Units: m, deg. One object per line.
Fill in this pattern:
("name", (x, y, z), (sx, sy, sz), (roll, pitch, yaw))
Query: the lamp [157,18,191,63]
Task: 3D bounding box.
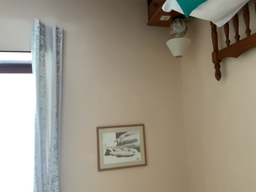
("lamp", (0.480, -0.570, 2.230), (0.230, 0.380, 0.260), (-2, 175, -14))
